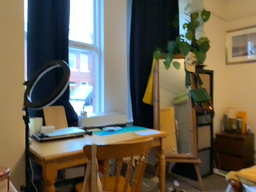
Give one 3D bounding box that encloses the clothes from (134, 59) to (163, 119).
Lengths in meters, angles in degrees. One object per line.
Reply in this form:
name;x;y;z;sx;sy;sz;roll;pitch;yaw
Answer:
clothes;0.280;-0.100;2.790;0.180;0.730;0.270;1;15;35
